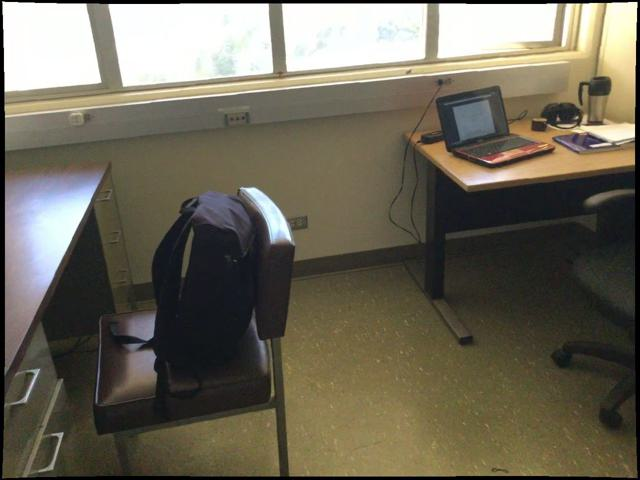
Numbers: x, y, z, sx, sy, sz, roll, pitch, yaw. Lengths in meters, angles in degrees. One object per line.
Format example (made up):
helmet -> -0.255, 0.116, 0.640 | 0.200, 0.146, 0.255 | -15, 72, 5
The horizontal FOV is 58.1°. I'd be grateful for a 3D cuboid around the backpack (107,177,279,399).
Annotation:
backpack -> -0.329, 0.110, 1.590 | 0.349, 0.421, 0.400 | -8, 26, -7
